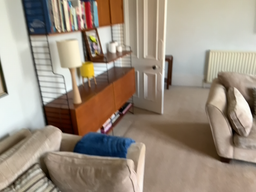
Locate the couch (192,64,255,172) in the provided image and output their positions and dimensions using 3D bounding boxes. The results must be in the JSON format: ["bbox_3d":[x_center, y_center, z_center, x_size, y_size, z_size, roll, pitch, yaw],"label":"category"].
[{"bbox_3d":[1.980,0.250,2.310,2.320,0.840,1.070,6,23,19],"label":"couch"}]
